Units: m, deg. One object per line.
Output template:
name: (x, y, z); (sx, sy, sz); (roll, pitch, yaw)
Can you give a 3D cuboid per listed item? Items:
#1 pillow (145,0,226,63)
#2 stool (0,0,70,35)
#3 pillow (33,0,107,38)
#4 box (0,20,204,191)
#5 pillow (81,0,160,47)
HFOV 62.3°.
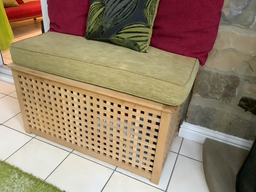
pillow: (0.300, -0.430, 1.110); (0.340, 0.410, 0.170); (18, 34, 21)
stool: (-1.640, -1.410, 3.620); (0.590, 0.360, 1.220); (18, 33, 20)
pillow: (-0.360, -0.600, 1.310); (0.430, 0.370, 0.170); (16, 33, 18)
box: (-0.180, -0.020, 1.320); (1.060, 0.630, 0.510); (16, 33, 18)
pillow: (-0.040, -0.490, 1.140); (0.380, 0.370, 0.140); (18, 20, 22)
